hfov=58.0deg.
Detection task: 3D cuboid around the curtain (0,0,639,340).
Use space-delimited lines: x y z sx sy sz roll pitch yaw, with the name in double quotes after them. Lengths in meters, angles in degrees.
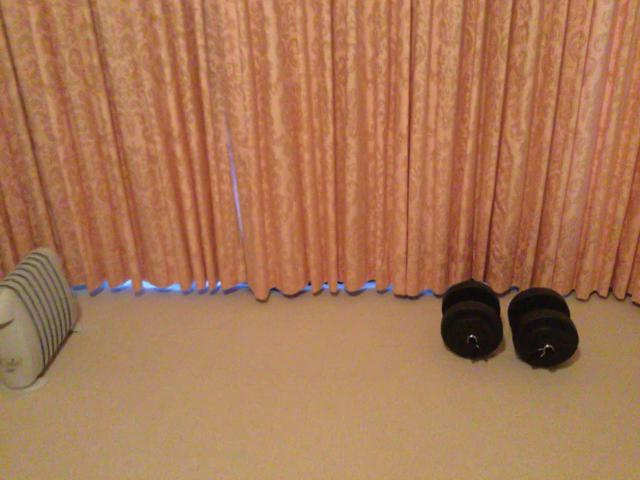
-0.270 -0.760 2.020 3.270 2.250 0.430 -1 21 7 "curtain"
